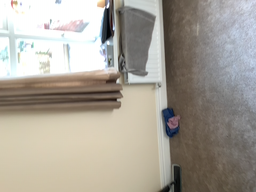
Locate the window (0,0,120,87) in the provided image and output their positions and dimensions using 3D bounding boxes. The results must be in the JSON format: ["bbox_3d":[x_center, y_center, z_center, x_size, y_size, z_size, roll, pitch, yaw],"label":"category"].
[{"bbox_3d":[-0.850,-0.650,2.080,0.310,1.490,1.070,-6,88,61],"label":"window"}]
